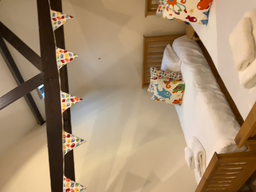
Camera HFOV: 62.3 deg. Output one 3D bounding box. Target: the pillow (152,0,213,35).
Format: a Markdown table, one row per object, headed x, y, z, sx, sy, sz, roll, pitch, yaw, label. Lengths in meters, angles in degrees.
| x | y | z | sx | sy | sz | roll | pitch | yaw | label |
| --- | --- | --- | --- | --- | --- | --- | --- | --- | --- |
| 0.500 | -1.050 | 2.160 | 0.430 | 0.370 | 0.890 | 89 | 177 | -45 | pillow |

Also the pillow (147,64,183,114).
| x | y | z | sx | sy | sz | roll | pitch | yaw | label |
| --- | --- | --- | --- | --- | --- | --- | --- | --- | --- |
| 0.520 | -0.100 | 3.150 | 0.530 | 0.400 | 0.480 | 89 | 177 | -46 | pillow |

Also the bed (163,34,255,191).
| x | y | z | sx | sy | sz | roll | pitch | yaw | label |
| --- | --- | --- | --- | --- | --- | --- | --- | --- | --- |
| 1.020 | 0.140 | 2.850 | 2.080 | 0.620 | 1.030 | -95 | 3 | -47 | bed |
